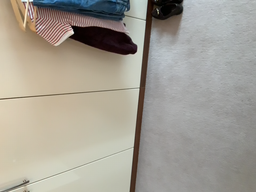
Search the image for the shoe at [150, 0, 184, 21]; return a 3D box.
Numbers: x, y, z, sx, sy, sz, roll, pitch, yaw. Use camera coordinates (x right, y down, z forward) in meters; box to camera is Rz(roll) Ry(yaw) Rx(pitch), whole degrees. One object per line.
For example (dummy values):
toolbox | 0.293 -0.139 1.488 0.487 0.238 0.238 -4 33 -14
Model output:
shoe | 0.270 -0.630 1.480 0.210 0.070 0.190 22 110 42
